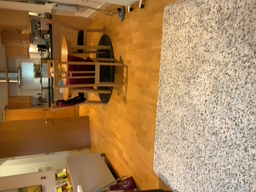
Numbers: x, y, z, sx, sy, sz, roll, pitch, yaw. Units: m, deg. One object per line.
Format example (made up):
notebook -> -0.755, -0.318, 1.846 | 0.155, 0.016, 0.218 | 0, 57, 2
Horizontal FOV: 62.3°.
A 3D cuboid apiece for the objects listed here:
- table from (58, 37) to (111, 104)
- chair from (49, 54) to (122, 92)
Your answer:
table -> -0.860, -0.500, 4.000 | 1.100, 0.750, 1.050 | -155, 65, -65
chair -> -0.650, -0.360, 3.210 | 0.490, 0.990, 0.450 | -140, 52, -60
